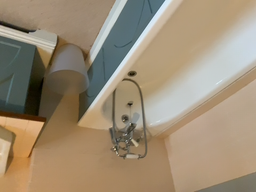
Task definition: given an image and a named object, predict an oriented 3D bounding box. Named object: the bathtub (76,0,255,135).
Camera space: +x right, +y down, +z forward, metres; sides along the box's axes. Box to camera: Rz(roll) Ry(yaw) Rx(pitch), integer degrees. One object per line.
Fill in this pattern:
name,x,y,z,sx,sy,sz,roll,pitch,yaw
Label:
bathtub,0.340,-0.370,1.320,0.810,0.530,1.660,12,142,-28
